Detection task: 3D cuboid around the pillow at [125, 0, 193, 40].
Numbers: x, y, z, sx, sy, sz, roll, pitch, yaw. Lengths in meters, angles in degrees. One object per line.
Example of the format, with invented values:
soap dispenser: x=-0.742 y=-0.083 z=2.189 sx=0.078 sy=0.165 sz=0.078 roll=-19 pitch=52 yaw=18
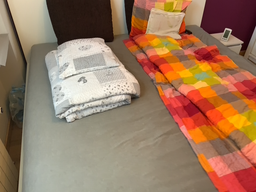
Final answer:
pillow: x=0.280 y=-0.780 z=2.060 sx=0.580 sy=0.330 sz=0.240 roll=-9 pitch=40 yaw=-13
